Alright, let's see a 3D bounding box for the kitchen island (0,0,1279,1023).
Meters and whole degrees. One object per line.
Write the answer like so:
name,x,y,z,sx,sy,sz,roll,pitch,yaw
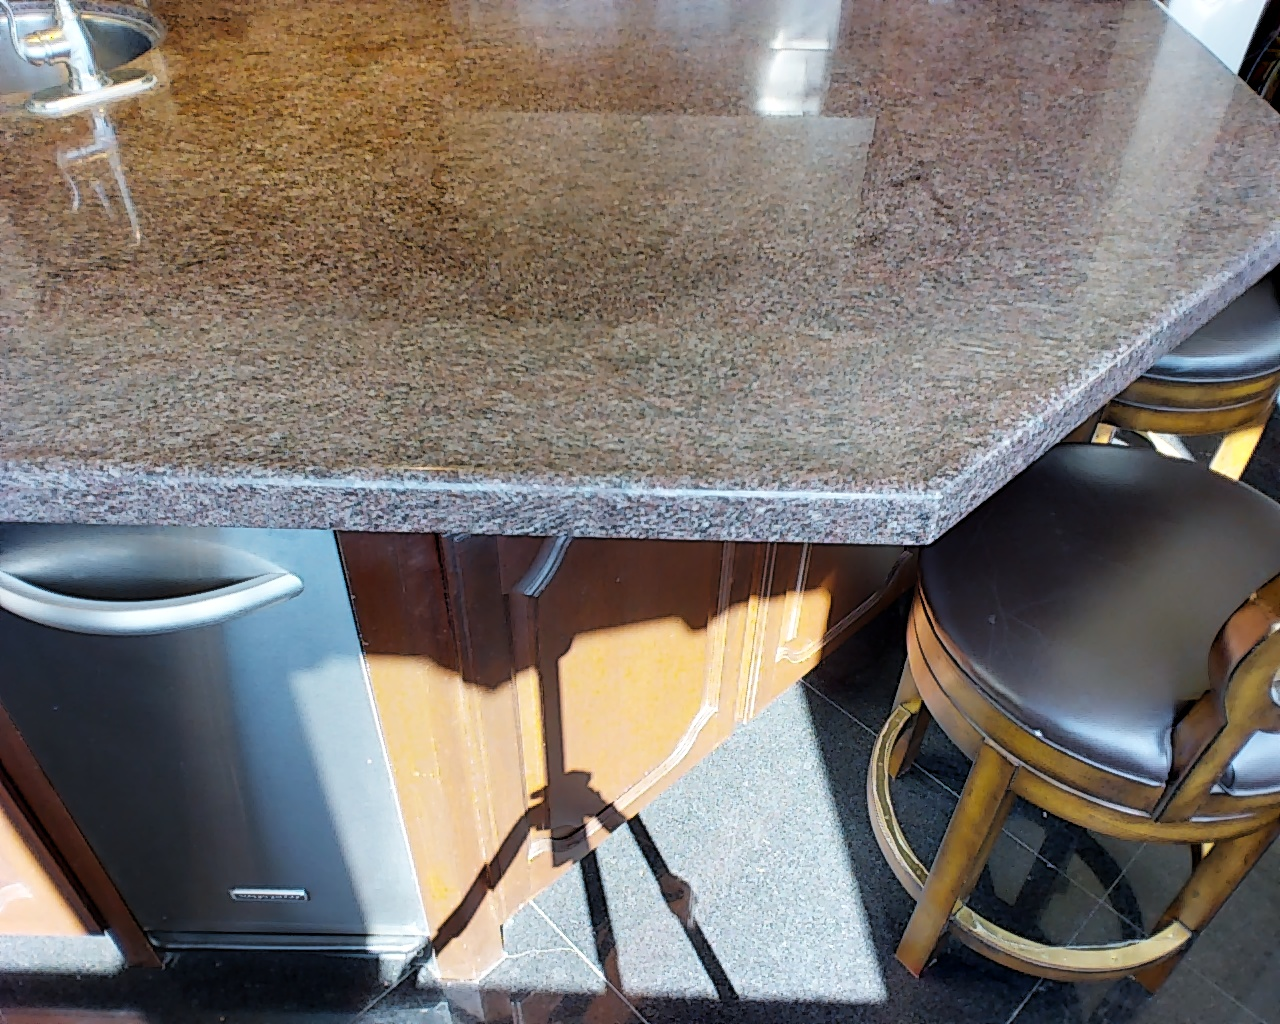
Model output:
kitchen island,-0.890,-0.150,1.600,3.490,0.910,1.370,1,42,0
